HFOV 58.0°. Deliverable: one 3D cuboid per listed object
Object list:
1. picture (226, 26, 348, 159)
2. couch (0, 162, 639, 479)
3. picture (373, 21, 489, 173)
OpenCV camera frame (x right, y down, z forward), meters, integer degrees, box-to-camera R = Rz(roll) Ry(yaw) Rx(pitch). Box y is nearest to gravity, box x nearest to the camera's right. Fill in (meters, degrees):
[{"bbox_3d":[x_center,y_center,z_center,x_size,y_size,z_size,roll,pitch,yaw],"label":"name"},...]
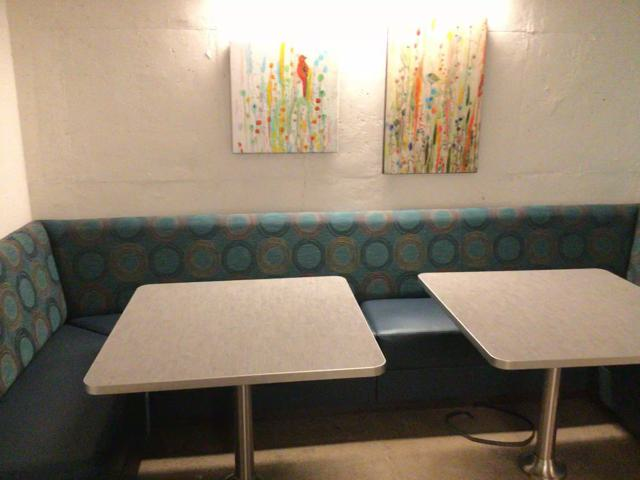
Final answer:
[{"bbox_3d":[-0.160,-0.730,2.890,0.570,0.610,0.160,-4,13,-7],"label":"picture"},{"bbox_3d":[0.250,0.420,2.410,3.180,1.060,1.490,-7,13,-7],"label":"couch"},{"bbox_3d":[0.550,-0.710,2.900,0.550,0.710,0.110,-4,13,-7],"label":"picture"}]
